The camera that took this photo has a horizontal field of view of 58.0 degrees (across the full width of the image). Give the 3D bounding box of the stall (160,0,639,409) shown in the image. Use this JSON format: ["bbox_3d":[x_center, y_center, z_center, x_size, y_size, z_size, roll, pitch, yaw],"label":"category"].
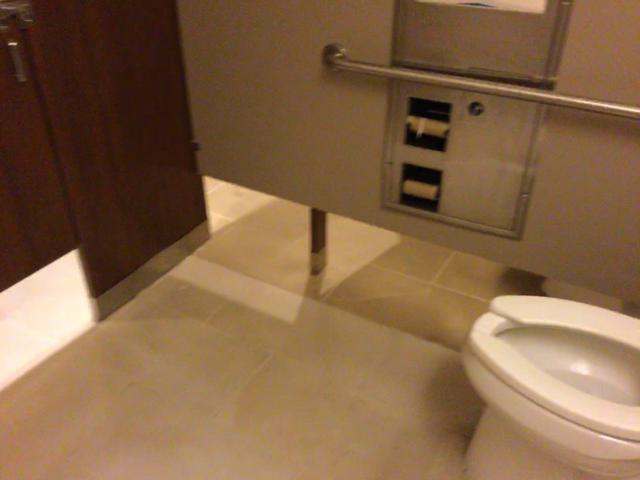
[{"bbox_3d":[0.400,-0.350,1.640,1.960,1.400,0.260,17,36,26],"label":"stall"}]

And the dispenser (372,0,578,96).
[{"bbox_3d":[0.360,-0.560,1.410,0.490,0.340,0.030,17,36,26],"label":"dispenser"}]

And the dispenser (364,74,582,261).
[{"bbox_3d":[0.390,-0.210,1.630,0.560,0.430,0.050,17,36,26],"label":"dispenser"}]
